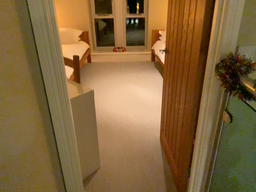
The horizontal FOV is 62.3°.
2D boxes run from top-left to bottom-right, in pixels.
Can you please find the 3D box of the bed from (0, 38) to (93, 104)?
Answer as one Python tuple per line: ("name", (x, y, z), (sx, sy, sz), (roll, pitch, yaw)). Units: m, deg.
("bed", (-1.340, -0.580, 3.820), (1.110, 0.530, 2.090), (-1, 25, -1))
